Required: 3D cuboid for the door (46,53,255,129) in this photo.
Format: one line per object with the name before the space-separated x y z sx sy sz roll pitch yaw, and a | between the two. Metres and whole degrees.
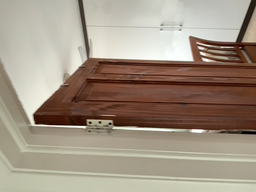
door | 0.740 -0.060 0.950 0.790 1.920 0.040 -85 -3 -68
